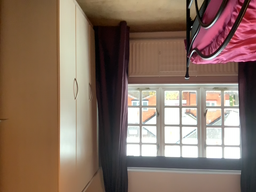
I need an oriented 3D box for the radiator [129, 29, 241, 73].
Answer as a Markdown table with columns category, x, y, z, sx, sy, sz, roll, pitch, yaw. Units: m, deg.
| category | x | y | z | sx | sy | sz | roll | pitch | yaw |
| --- | --- | --- | --- | --- | --- | --- | --- | --- | --- |
| radiator | 0.780 | -0.630 | 2.990 | 1.520 | 0.570 | 0.100 | 0 | 178 | 4 |
